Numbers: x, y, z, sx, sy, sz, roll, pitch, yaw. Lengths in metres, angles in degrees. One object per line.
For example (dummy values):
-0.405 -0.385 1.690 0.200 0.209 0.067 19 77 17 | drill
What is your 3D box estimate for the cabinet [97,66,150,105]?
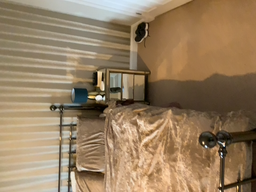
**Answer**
-0.060 -0.120 2.910 0.370 0.620 0.480 0 89 61 | cabinet
